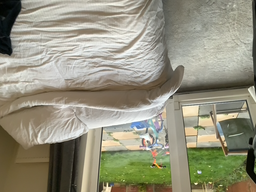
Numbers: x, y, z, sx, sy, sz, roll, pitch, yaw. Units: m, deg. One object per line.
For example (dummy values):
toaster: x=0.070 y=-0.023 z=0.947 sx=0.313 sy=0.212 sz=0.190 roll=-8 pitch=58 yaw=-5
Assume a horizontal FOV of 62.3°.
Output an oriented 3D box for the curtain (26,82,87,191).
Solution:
curtain: x=-0.670 y=0.870 z=1.840 sx=0.360 sy=2.140 sz=0.200 roll=-7 pitch=152 yaw=14
